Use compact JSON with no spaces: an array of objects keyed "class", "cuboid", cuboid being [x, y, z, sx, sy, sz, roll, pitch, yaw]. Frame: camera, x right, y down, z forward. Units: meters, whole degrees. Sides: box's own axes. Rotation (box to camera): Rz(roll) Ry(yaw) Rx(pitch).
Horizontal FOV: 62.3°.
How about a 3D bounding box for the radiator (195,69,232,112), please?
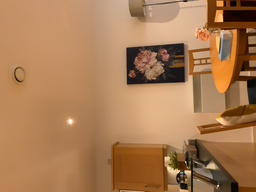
[{"class":"radiator","cuboid":[1.270,-0.080,3.180,0.180,0.460,0.610,3,-95,-79]}]
